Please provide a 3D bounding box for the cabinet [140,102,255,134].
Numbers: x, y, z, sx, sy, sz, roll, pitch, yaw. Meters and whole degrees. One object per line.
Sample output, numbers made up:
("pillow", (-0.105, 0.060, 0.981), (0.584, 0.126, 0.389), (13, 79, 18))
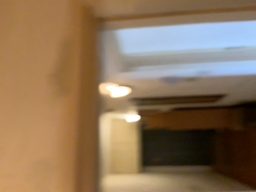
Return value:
("cabinet", (1.300, 0.480, 4.290), (1.070, 2.060, 0.390), (73, -164, -73))
